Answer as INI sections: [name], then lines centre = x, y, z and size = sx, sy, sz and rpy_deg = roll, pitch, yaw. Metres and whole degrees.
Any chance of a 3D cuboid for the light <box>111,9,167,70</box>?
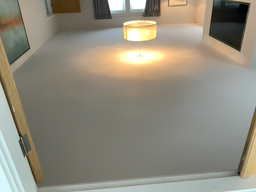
[light]
centre = 0.190, -1.050, 3.910
size = 0.750, 0.660, 0.770
rpy_deg = -18, 119, 2
